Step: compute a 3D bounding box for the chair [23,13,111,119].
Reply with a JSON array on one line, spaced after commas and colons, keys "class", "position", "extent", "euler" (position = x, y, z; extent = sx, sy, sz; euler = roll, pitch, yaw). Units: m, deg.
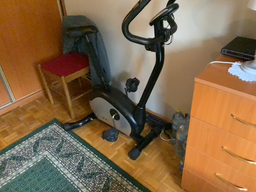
[{"class": "chair", "position": [-0.550, -0.310, 2.070], "extent": [0.500, 0.810, 0.480], "euler": [25, 44, 35]}]
